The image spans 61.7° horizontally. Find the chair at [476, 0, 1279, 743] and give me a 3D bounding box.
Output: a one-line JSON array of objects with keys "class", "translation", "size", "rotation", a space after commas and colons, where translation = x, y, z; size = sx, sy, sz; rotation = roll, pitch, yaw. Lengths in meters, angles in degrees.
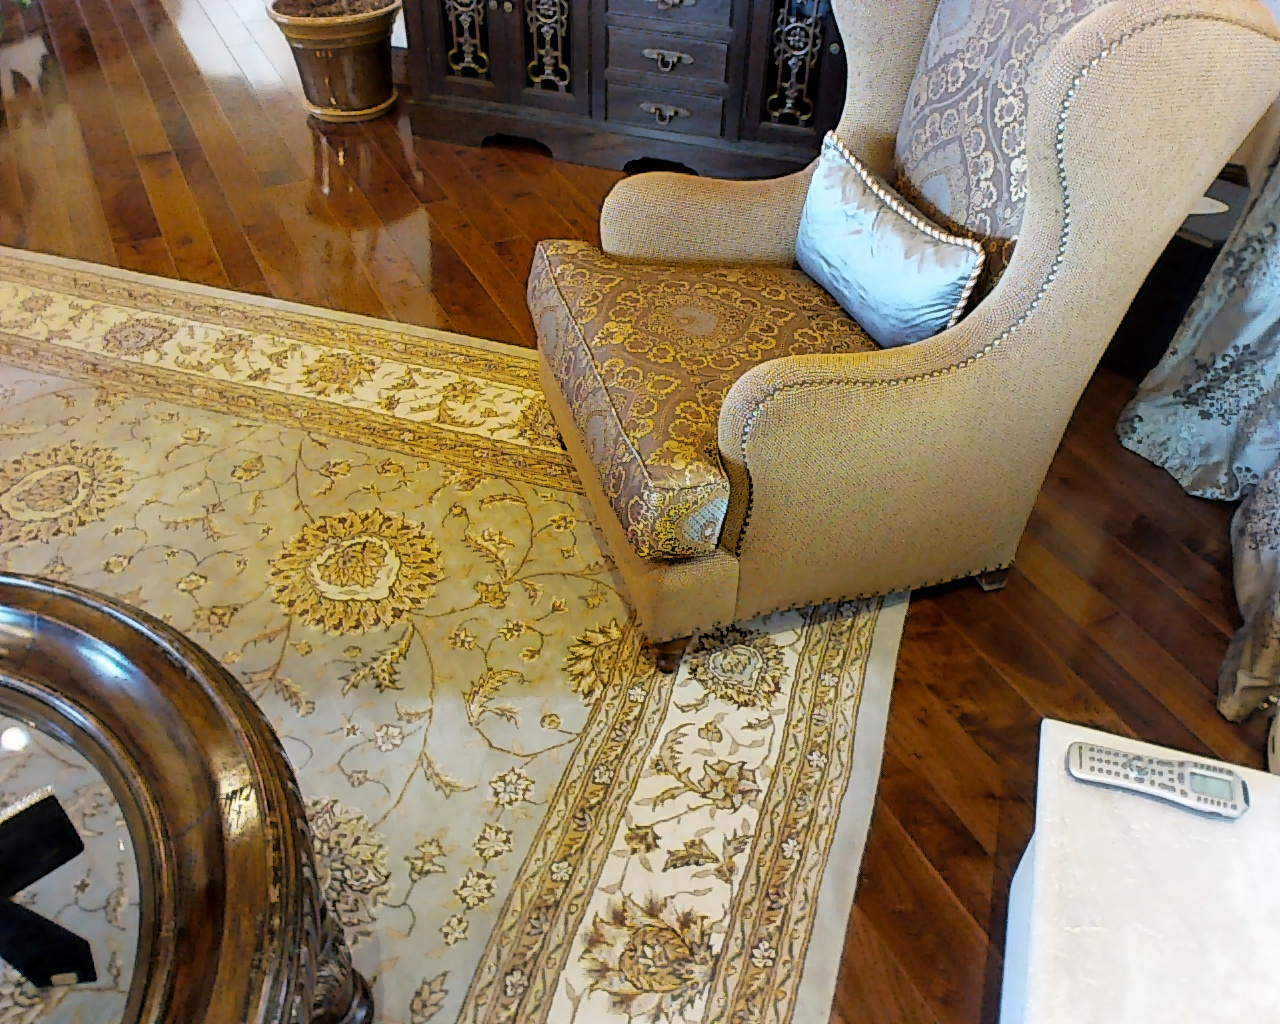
[{"class": "chair", "translation": [0.340, -0.420, 2.000], "size": [1.050, 1.170, 0.940], "rotation": [-11, 43, -14]}]
